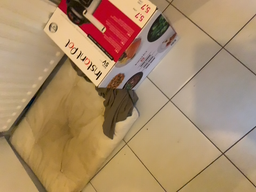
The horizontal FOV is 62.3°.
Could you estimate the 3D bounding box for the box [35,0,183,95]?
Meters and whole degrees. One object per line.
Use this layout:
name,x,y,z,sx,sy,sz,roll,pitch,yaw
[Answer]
box,-0.060,-0.270,0.930,0.360,0.380,0.390,-45,74,17
